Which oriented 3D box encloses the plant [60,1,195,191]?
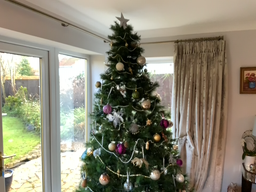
[{"bbox_3d":[0.100,0.350,2.380,1.080,2.200,1.320,1,4,12],"label":"plant"}]
